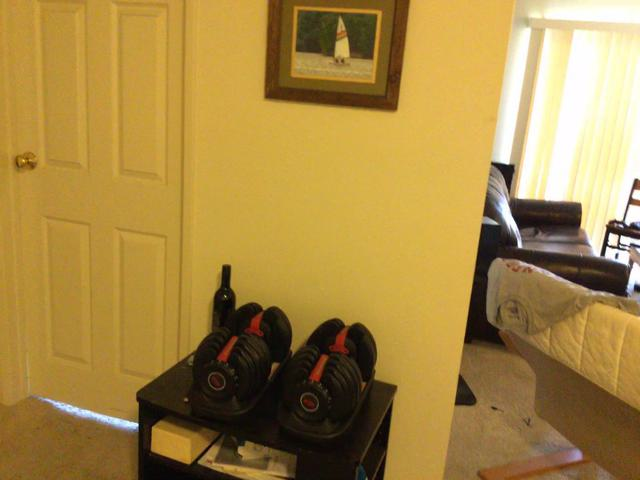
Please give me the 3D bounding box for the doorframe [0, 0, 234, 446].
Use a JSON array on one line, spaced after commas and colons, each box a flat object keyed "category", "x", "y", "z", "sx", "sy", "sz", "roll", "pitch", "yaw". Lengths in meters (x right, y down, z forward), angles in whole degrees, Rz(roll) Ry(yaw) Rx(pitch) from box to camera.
[{"category": "doorframe", "x": -0.790, "y": -0.200, "z": 2.070, "sx": 0.930, "sy": 1.780, "sz": 0.170, "roll": 4, "pitch": 11, "yaw": 18}]
